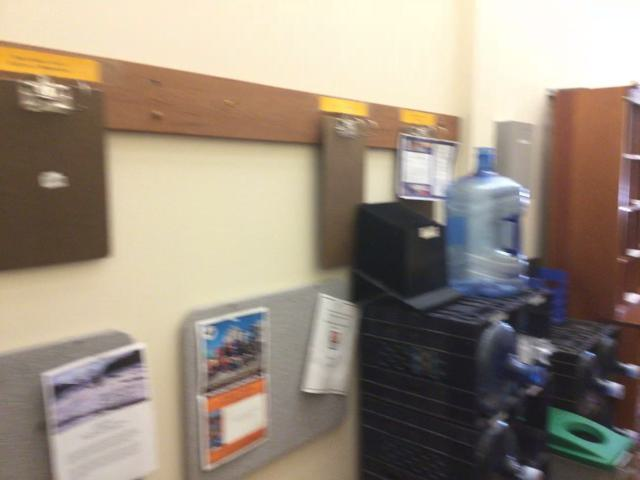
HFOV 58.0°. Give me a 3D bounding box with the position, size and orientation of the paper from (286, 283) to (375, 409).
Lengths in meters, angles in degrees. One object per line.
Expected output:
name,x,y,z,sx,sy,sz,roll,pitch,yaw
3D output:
paper,0.040,0.310,1.650,0.030,0.330,0.280,2,-12,41

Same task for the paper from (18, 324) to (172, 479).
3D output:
paper,-0.430,0.360,1.140,0.040,0.330,0.260,2,9,42
